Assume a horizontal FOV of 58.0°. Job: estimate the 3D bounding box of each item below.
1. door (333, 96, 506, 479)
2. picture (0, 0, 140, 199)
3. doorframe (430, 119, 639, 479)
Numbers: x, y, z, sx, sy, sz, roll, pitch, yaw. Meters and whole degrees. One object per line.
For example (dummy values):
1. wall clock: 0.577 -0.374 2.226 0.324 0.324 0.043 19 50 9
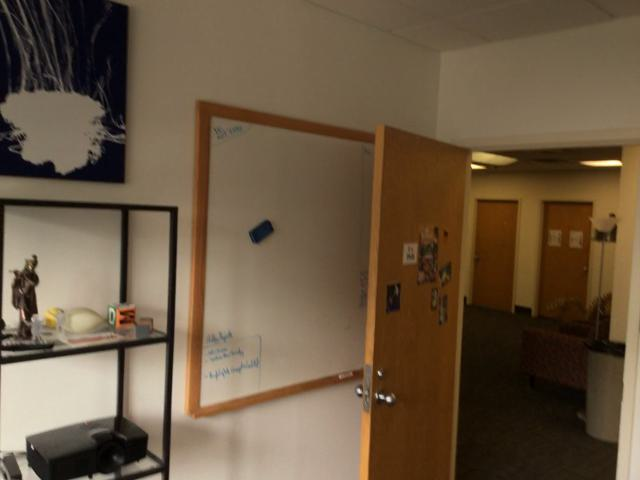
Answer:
1. door: 0.510 0.510 2.720 0.190 2.110 1.140 3 1 40
2. picture: -0.810 -0.490 1.790 0.060 0.690 0.490 3 1 44
3. doorframe: 1.030 0.480 2.780 0.900 1.970 0.310 3 1 43
